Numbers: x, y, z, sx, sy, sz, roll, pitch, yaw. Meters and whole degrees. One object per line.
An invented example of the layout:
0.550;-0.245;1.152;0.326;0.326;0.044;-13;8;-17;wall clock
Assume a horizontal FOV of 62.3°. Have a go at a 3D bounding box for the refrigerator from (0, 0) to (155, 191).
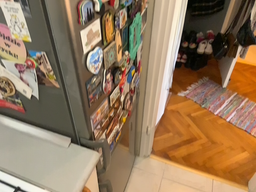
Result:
-0.270;0.000;1.010;0.570;1.490;0.580;16;43;15;refrigerator
